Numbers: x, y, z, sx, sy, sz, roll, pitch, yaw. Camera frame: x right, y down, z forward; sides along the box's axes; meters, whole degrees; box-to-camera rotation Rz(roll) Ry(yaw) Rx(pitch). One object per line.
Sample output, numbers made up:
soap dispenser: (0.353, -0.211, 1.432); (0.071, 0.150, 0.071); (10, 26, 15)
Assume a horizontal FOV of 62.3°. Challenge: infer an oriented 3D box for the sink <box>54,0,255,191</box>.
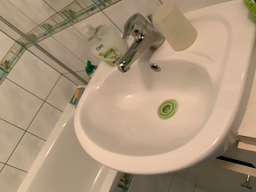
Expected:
sink: (0.060, 0.010, 0.560); (0.510, 0.140, 0.380); (2, 60, 49)
